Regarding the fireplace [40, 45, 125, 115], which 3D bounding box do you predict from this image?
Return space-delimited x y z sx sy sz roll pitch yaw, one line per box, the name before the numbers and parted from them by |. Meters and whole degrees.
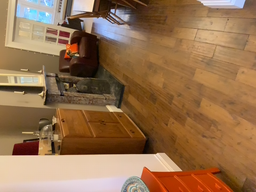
fireplace | -0.990 -0.360 4.090 1.640 1.220 0.710 46 125 58
